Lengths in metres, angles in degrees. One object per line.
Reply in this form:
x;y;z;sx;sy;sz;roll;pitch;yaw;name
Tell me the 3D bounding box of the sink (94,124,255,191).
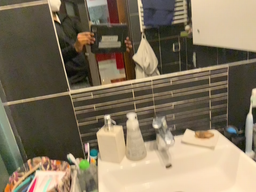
0.160;0.300;0.690;0.510;0.160;0.420;-10;19;-7;sink
